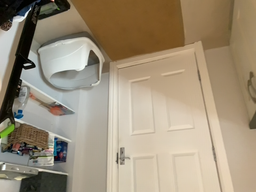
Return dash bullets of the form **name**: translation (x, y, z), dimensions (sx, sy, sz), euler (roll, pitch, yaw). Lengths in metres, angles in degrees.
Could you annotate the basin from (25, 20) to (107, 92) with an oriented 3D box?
- **basin**: translation (-0.570, -0.360, 2.080), dimensions (0.590, 0.400, 0.450), euler (-10, 154, 16)
